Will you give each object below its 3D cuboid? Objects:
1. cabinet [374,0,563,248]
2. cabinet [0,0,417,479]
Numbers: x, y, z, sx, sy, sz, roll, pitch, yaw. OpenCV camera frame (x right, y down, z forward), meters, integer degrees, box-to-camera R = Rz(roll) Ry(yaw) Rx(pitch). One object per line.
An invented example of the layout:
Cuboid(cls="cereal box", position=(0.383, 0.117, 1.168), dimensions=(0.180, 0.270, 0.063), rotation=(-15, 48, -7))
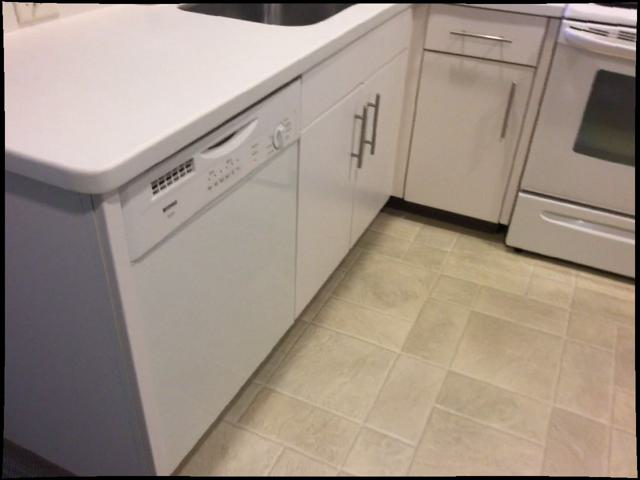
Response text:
Cuboid(cls="cabinet", position=(0.509, -0.431, 2.170), dimensions=(0.539, 0.902, 0.090), rotation=(16, 37, 19))
Cuboid(cls="cabinet", position=(-0.319, -0.170, 1.760), dimensions=(0.689, 0.872, 1.590), rotation=(16, 37, 19))
